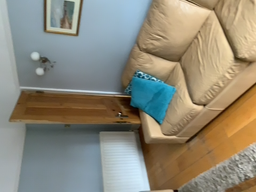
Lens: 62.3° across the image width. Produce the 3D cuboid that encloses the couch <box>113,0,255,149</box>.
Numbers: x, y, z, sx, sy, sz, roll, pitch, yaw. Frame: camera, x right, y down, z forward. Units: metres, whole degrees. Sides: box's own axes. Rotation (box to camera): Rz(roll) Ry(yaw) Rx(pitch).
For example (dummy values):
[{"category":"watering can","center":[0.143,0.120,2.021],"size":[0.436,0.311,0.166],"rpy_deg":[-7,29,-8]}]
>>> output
[{"category":"couch","center":[0.600,-0.490,1.940],"size":[2.150,0.840,1.100],"rpy_deg":[116,150,-48]}]
